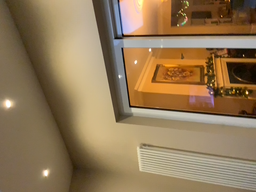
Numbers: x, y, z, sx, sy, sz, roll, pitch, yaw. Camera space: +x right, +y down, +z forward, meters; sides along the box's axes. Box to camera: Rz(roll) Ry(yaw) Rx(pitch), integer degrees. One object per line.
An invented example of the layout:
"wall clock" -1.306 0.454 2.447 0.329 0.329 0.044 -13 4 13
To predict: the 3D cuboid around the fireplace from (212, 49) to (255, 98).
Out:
"fireplace" 2.350 -0.480 4.220 0.250 1.220 1.160 77 -157 -47
